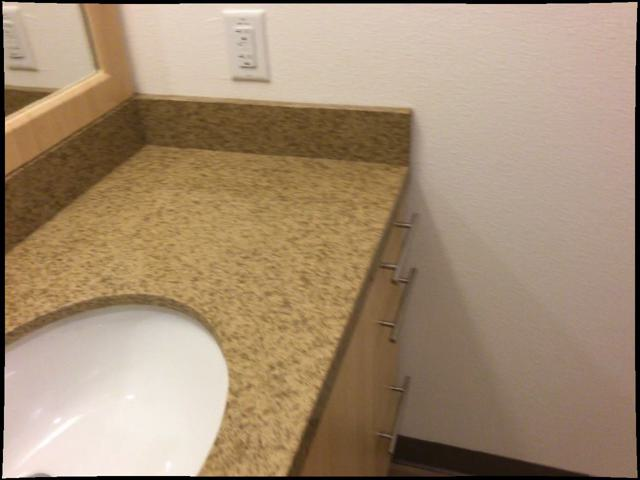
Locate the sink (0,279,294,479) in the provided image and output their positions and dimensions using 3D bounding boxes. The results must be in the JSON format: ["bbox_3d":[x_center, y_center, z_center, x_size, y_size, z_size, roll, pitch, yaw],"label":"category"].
[{"bbox_3d":[-0.279,0.271,0.680,0.369,0.180,0.420,7,36,15],"label":"sink"}]
